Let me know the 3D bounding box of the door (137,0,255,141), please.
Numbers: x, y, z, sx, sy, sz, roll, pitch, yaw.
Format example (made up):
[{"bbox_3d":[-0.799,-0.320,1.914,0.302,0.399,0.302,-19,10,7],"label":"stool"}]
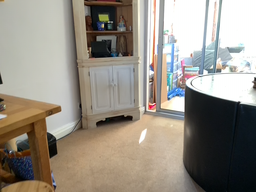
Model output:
[{"bbox_3d":[0.930,-0.610,2.690,1.680,2.120,0.270,8,18,29],"label":"door"}]

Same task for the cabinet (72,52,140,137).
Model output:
[{"bbox_3d":[-0.250,-0.080,2.840,0.550,0.930,0.720,8,18,28],"label":"cabinet"}]

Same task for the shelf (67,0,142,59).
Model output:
[{"bbox_3d":[-0.250,-1.090,2.550,0.570,1.180,0.740,8,18,28],"label":"shelf"}]
